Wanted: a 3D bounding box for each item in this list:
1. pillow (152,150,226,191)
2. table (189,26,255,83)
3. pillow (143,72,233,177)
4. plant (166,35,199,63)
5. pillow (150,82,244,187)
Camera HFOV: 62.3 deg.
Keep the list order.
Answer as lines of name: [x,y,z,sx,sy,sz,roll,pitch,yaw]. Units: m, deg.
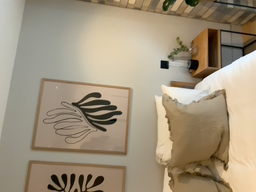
pillow: [0.460,0.730,1.490,0.210,0.410,0.550,60,-169,-84]
table: [0.970,-0.400,2.140,0.310,0.600,0.410,133,142,-75]
pillow: [0.460,0.220,1.740,0.200,0.460,0.690,47,-158,-84]
plant: [0.560,-0.480,2.180,0.140,0.300,0.210,131,144,-75]
pillow: [0.470,0.260,1.550,0.270,0.460,0.600,88,168,-85]
